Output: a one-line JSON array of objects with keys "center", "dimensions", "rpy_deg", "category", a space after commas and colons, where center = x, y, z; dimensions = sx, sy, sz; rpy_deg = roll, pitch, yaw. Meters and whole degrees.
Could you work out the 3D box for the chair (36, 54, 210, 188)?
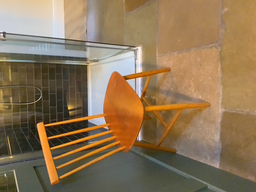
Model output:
[{"center": [-0.050, 0.100, 1.220], "dimensions": [0.410, 0.800, 0.490], "rpy_deg": [54, 135, 41], "category": "chair"}]
